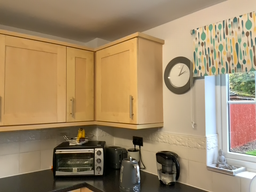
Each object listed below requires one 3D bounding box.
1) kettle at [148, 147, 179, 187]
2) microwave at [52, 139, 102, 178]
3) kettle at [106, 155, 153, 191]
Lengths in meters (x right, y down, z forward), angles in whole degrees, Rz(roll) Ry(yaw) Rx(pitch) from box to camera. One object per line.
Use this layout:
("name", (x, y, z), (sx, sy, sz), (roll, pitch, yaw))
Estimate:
("kettle", (0.300, 0.600, 1.820), (0.120, 0.260, 0.250), (2, -3, -39))
("microwave", (-0.470, 0.590, 2.070), (0.410, 0.260, 0.420), (0, -2, -5))
("kettle", (0.010, 0.630, 1.690), (0.260, 0.220, 0.270), (2, -3, -42))
